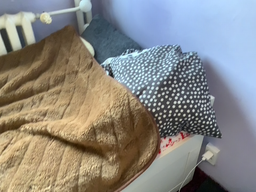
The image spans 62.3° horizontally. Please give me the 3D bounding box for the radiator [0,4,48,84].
[{"bbox_3d":[-0.880,-0.210,1.100,0.800,0.360,0.160,-23,42,-27],"label":"radiator"}]
